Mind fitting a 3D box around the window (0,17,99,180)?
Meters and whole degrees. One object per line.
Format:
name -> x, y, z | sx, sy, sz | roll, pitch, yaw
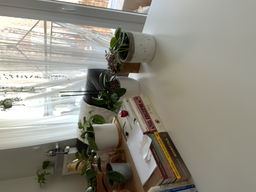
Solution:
window -> -1.460, 0.250, 2.540 | 0.170, 1.830, 2.360 | -118, 36, -45
